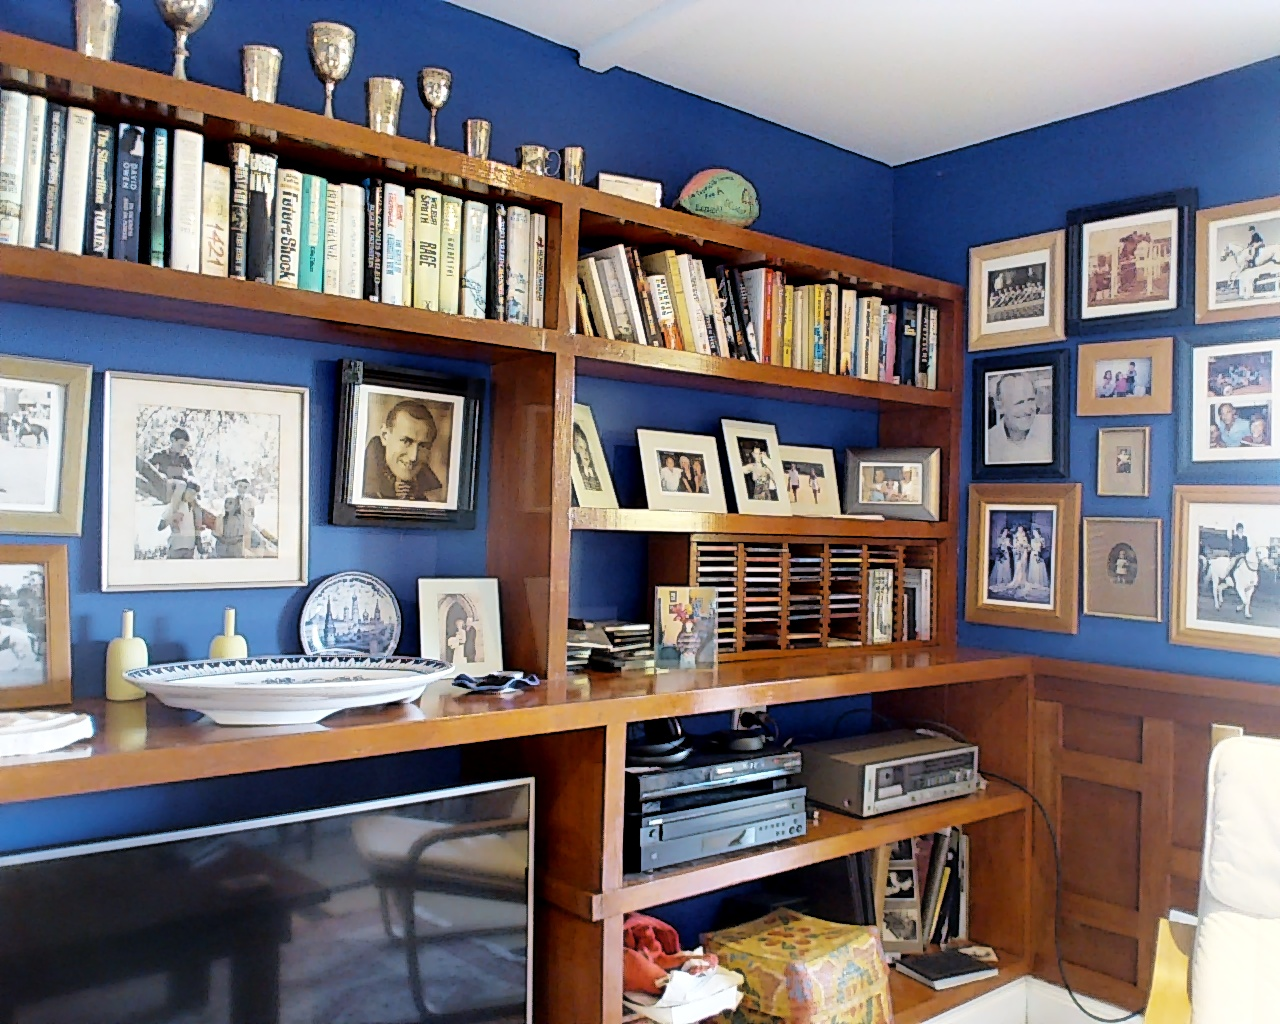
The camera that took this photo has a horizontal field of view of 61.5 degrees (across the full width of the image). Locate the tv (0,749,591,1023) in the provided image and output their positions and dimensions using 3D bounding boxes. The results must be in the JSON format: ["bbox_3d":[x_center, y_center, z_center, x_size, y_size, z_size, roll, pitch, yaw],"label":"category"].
[{"bbox_3d":[-0.560,0.760,1.640,1.080,0.650,0.150,2,-1,-40],"label":"tv"}]

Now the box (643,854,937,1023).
[{"bbox_3d":[0.320,1.000,2.330,0.410,0.330,0.470,2,-1,-42],"label":"box"}]

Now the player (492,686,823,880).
[{"bbox_3d":[0.030,0.540,2.270,0.480,0.240,0.510,1,-1,-39],"label":"player"}]
